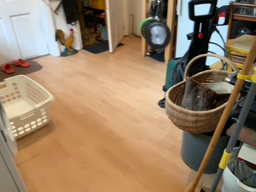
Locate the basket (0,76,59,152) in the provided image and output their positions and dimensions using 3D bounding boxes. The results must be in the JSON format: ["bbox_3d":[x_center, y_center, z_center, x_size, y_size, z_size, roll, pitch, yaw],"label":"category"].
[{"bbox_3d":[-0.860,0.100,1.630,0.560,0.240,0.360,26,41,38],"label":"basket"}]

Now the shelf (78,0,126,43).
[{"bbox_3d":[-0.480,-1.890,3.490,0.370,1.800,0.850,-27,40,-35],"label":"shelf"}]
